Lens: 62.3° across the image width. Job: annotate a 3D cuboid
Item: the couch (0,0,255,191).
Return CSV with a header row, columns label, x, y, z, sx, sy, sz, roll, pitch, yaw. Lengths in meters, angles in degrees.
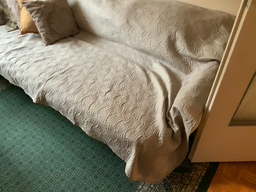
label,x,y,z,sx,sy,sz,roll,pitch,yaw
couch,-0.360,-0.390,1.820,2.220,0.700,1.200,28,51,26
